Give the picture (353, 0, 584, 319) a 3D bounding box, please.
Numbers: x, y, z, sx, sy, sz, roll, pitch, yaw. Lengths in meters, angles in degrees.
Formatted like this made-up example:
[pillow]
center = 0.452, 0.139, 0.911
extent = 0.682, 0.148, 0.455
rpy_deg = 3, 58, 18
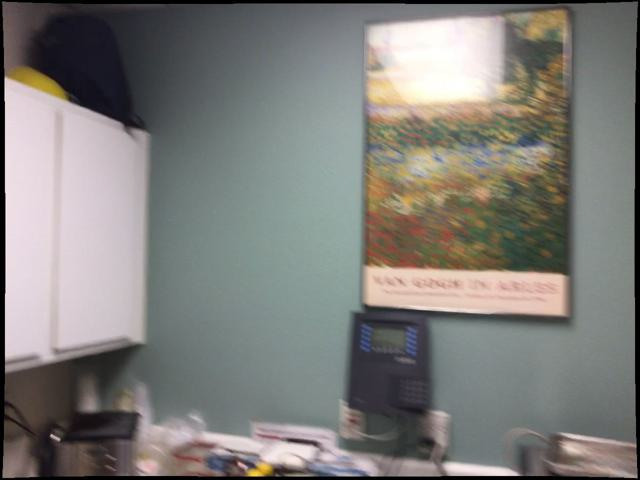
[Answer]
[picture]
center = 0.440, -0.260, 1.770
extent = 0.659, 0.961, 0.060
rpy_deg = 1, -1, 17
